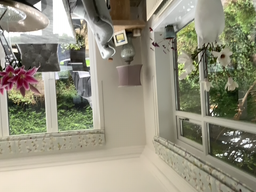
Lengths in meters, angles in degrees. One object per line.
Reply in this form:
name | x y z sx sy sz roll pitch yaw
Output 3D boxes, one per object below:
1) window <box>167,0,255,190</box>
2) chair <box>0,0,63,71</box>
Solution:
window | 0.820 -0.120 1.680 0.140 1.470 2.140 -3 -179 -12
chair | -1.140 -0.860 2.530 0.580 1.040 0.660 -3 -179 -11
